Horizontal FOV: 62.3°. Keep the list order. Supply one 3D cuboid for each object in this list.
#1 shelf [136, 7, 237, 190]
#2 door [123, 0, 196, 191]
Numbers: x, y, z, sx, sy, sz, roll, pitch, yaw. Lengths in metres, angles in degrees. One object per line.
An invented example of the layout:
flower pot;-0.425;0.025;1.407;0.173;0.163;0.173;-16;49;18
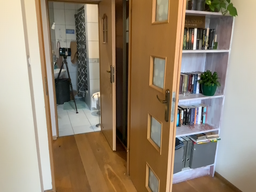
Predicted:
shelf;0.570;0.050;2.270;0.860;1.760;0.340;-5;16;-21
door;0.180;0.080;1.840;0.120;2.100;0.810;-6;17;-23
